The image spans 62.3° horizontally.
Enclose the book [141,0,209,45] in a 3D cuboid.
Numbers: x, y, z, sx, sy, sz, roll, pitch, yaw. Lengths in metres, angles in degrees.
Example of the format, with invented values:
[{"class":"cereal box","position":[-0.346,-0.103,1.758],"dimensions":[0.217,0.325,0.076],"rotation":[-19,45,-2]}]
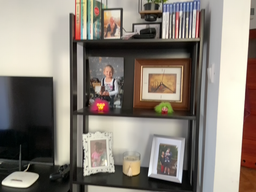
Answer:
[{"class":"book","position":[0.230,-0.380,1.100],"dimensions":[0.310,0.190,0.200],"rotation":[2,5,6]}]

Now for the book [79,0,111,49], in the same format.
[{"class":"book","position":[-0.170,-0.370,1.140],"dimensions":[0.090,0.200,0.250],"rotation":[2,5,10]}]
